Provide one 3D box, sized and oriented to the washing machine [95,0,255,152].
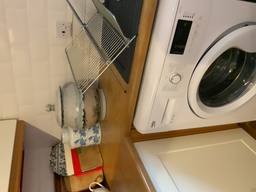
[{"bbox_3d":[0.340,-0.230,1.180,0.700,0.870,0.620,-122,35,-51],"label":"washing machine"}]
